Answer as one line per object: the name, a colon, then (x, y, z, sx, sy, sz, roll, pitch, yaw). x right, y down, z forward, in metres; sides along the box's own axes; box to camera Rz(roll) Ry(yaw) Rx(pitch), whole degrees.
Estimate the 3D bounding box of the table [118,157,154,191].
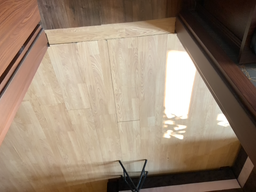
table: (0.070, 0.880, 2.120, 0.310, 0.430, 0.250, -3, 129, -3)
